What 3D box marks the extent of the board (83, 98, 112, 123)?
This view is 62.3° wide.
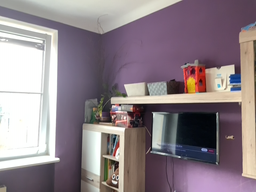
[{"bbox_3d":[-0.440,0.200,3.040,0.280,0.340,0.290,4,-4,-44],"label":"board"}]

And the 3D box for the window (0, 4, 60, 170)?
[{"bbox_3d":[-1.600,-0.110,2.460,1.580,1.930,0.160,4,-4,-45],"label":"window"}]
